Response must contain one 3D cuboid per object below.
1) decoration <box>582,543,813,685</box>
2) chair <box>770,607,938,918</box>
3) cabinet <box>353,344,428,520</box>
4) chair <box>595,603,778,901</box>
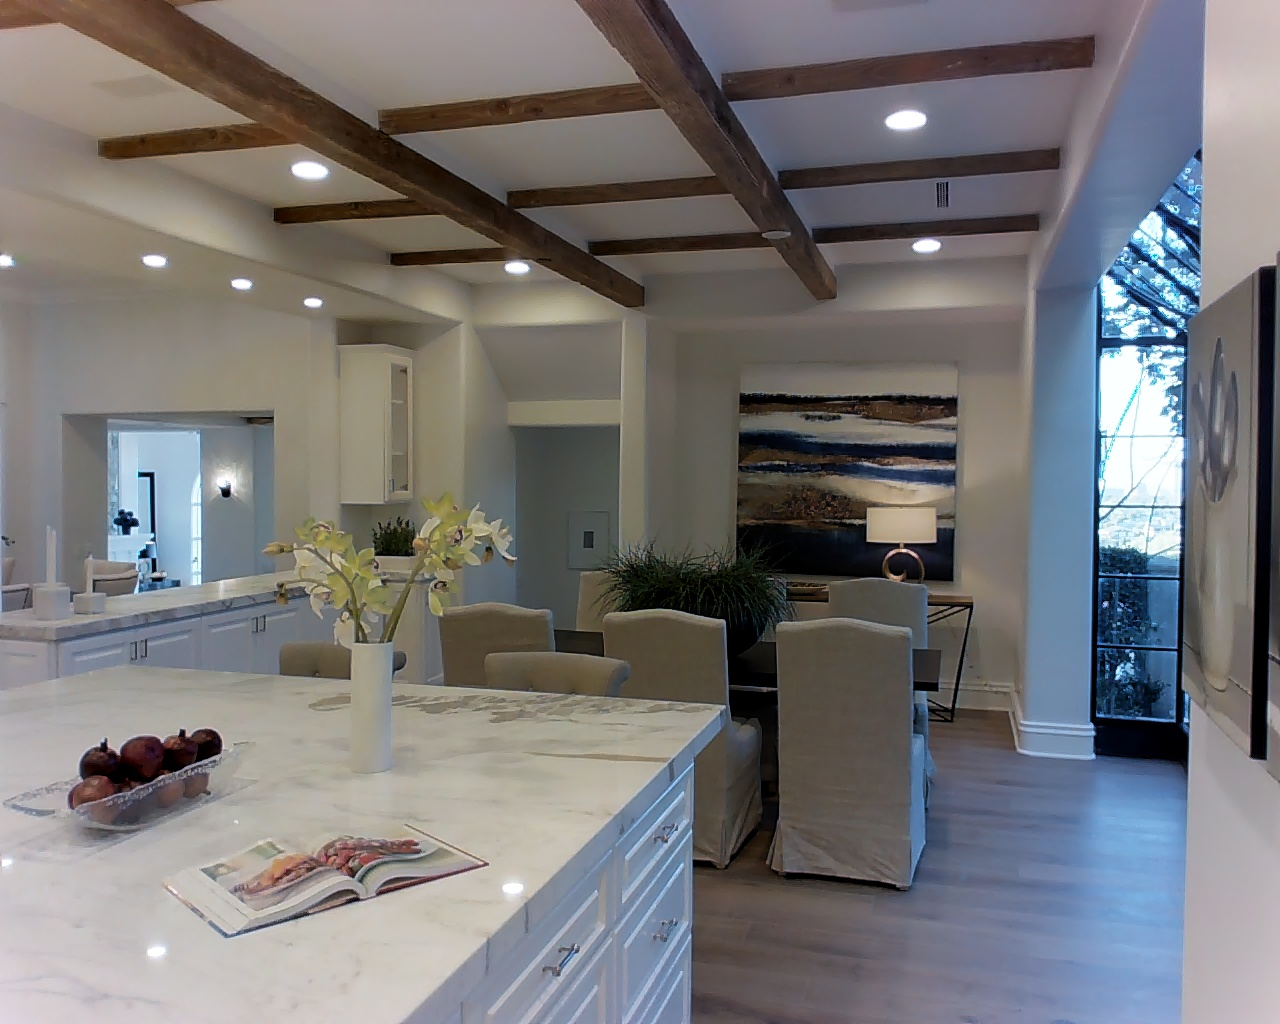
[{"bbox_3d":[0.300,0.470,5.260,0.990,0.570,0.670,1,2,17],"label":"decoration"},{"bbox_3d":[0.920,0.990,4.510,0.600,1.080,0.740,1,2,17],"label":"chair"},{"bbox_3d":[-1.779,-0.560,7.670,0.340,1.210,0.430,1,2,17],"label":"cabinet"},{"bbox_3d":[0.220,0.990,4.690,0.610,1.090,0.690,1,2,19],"label":"chair"}]
